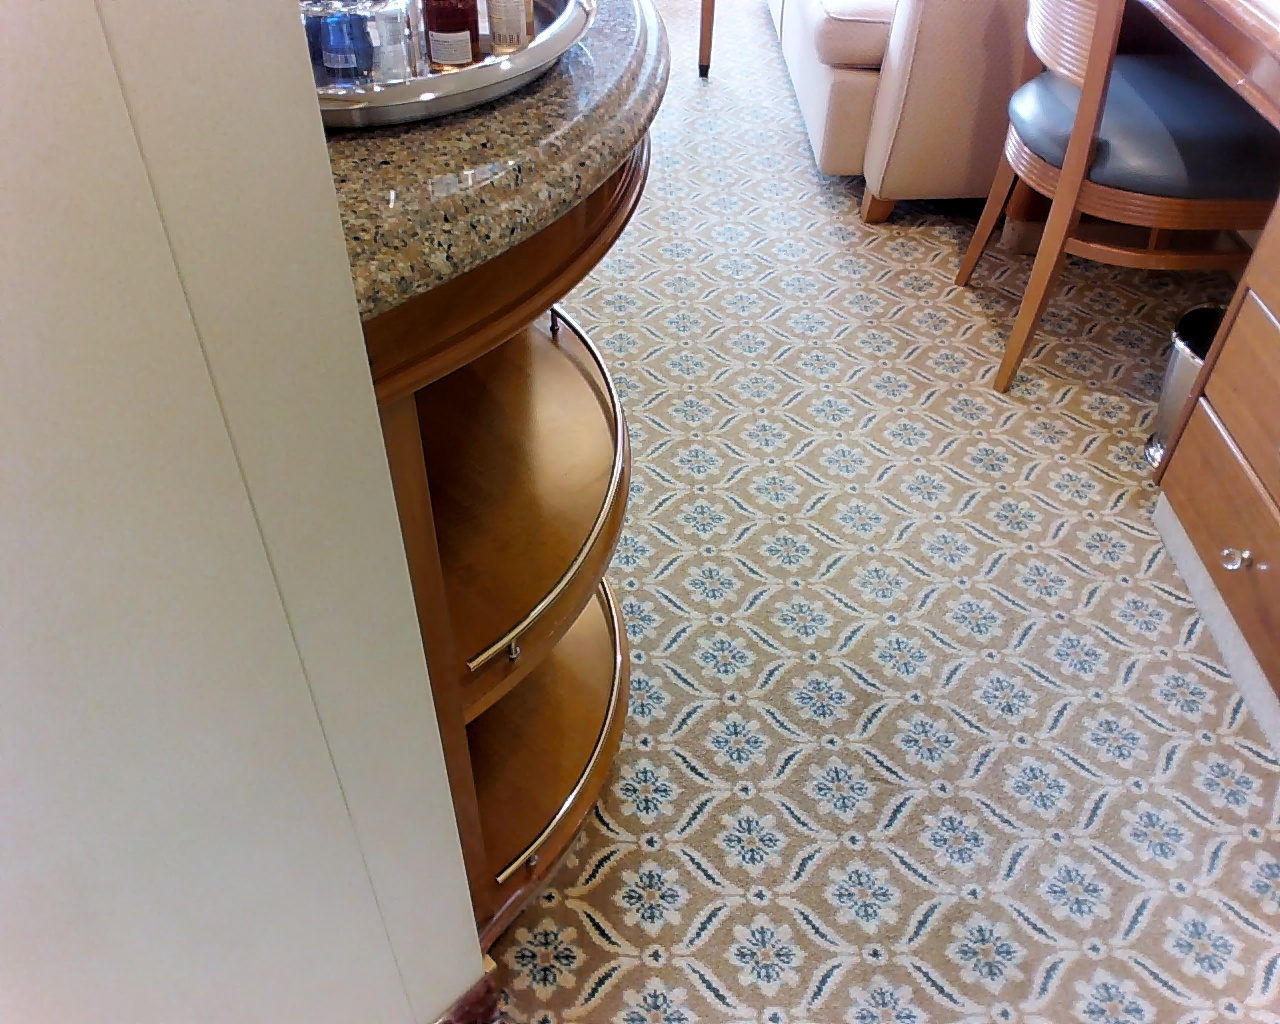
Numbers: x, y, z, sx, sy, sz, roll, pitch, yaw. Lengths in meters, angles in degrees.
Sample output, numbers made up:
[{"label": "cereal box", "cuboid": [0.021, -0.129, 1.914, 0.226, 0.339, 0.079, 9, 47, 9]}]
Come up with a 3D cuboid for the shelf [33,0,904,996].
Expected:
[{"label": "shelf", "cuboid": [-0.140, -0.010, 1.160, 0.530, 0.830, 0.470, -32, 52, -30]}]

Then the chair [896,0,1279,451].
[{"label": "chair", "cuboid": [0.900, -0.640, 1.840, 0.660, 0.870, 0.620, 0, 43, -1]}]

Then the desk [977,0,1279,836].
[{"label": "desk", "cuboid": [1.050, -0.280, 1.530, 0.510, 0.760, 1.880, 0, 43, -1]}]
